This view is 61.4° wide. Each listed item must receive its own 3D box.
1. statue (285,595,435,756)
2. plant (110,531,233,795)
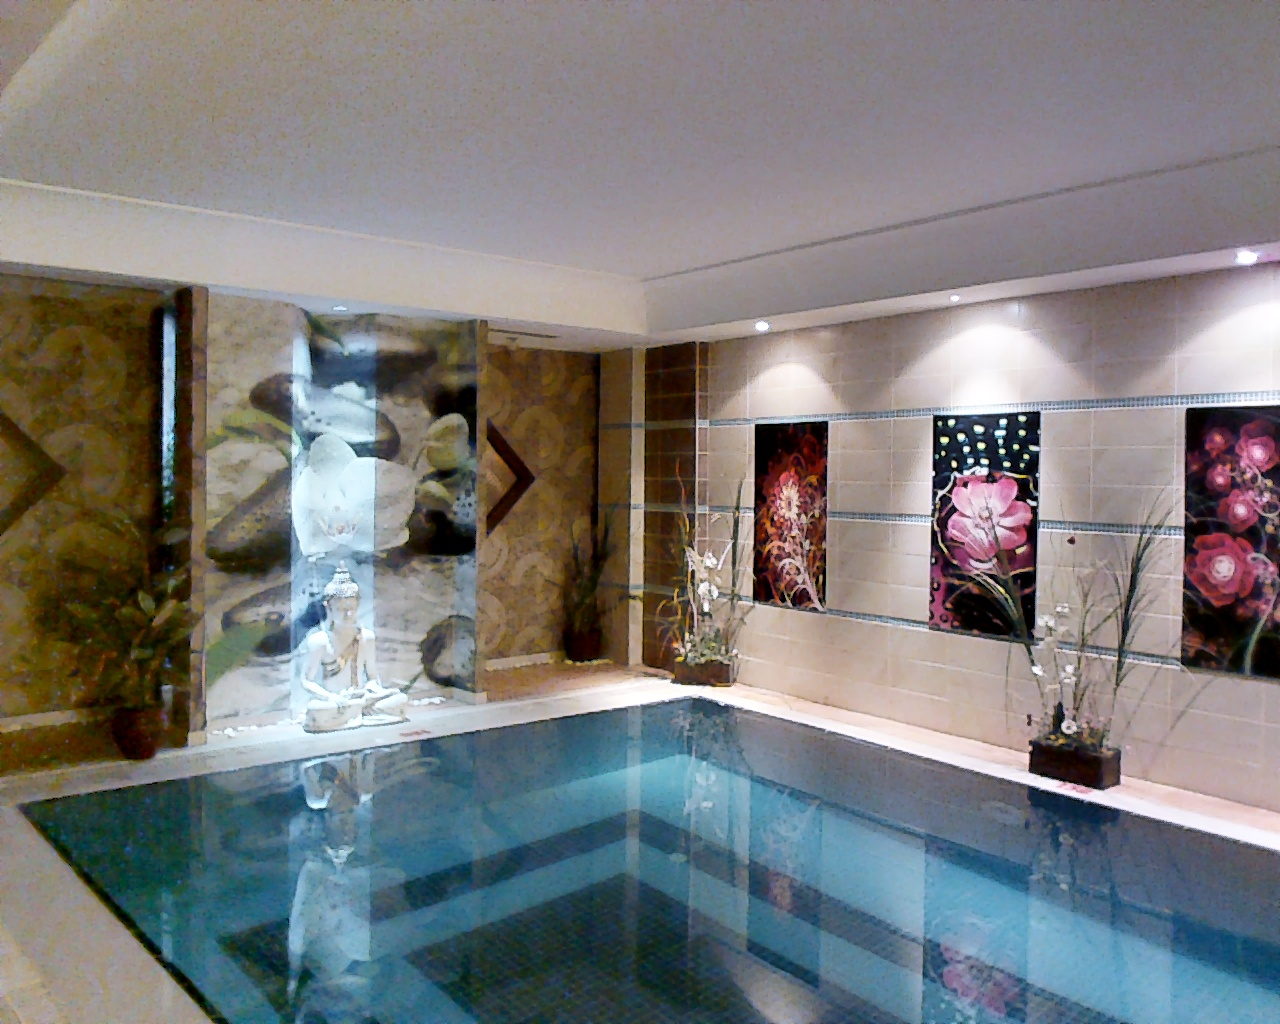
[{"bbox_3d":[-1.770,0.990,6.780,0.670,0.850,0.740,0,1,-38],"label":"statue"},{"bbox_3d":[-2.539,0.770,5.900,0.530,1.300,0.850,0,1,-18],"label":"plant"}]
